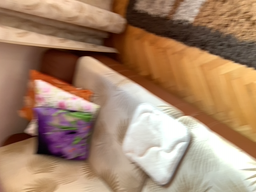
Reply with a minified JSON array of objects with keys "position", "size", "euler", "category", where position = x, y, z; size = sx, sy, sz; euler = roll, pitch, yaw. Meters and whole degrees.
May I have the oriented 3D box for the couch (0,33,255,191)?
[{"position":[0.000,0.520,1.130],"size":[2.330,0.910,1.010],"euler":[33,114,38],"category":"couch"}]
